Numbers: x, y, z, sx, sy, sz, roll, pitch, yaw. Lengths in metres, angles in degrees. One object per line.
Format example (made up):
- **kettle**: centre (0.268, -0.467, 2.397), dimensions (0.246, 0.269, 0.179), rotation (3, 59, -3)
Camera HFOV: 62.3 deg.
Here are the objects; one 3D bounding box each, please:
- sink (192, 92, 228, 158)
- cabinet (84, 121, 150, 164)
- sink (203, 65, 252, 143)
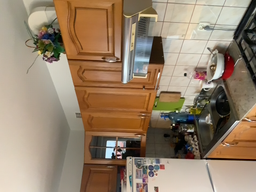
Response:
- **sink**: centre (0.880, 0.320, 2.360), dimensions (0.410, 0.120, 0.600), rotation (96, 175, -54)
- **cabinet**: centre (-0.140, 0.570, 2.670), dimensions (0.400, 0.750, 0.390), rotation (-112, 24, -83)
- **sink**: centre (0.910, 0.080, 2.020), dimensions (0.430, 0.120, 0.600), rotation (96, 175, -54)
